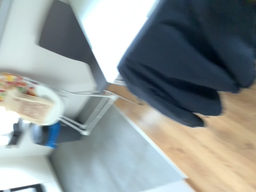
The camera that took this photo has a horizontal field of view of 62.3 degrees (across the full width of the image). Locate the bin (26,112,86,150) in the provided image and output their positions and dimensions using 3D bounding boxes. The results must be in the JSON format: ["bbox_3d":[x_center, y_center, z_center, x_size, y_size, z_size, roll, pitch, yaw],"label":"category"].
[{"bbox_3d":[-0.860,0.420,2.540,0.340,0.560,0.320,-34,61,40],"label":"bin"}]

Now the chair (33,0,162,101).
[{"bbox_3d":[-0.240,-0.320,1.750,0.430,0.850,0.500,-49,52,32],"label":"chair"}]
